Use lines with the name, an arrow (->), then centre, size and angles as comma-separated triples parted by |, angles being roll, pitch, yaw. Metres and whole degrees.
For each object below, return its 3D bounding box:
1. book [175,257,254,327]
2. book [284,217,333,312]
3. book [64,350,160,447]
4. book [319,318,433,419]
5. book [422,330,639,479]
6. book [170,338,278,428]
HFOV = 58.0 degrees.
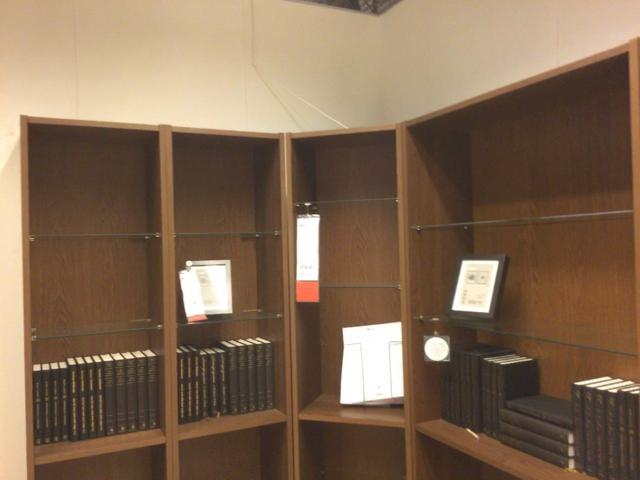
book -> -0.360, 0.170, 1.960 | 0.210, 0.210, 0.190 | -3, 0, -26
book -> -0.040, 0.080, 1.920 | 0.130, 0.300, 0.090 | -3, 0, -13
book -> -0.660, 0.490, 1.830 | 0.260, 0.230, 0.160 | -3, 0, -26
book -> 0.200, 0.430, 2.010 | 0.310, 0.280, 0.260 | -3, 0, 25
book -> 0.580, 0.420, 1.480 | 0.220, 0.270, 0.740 | -3, 0, -26
book -> -0.330, 0.480, 1.990 | 0.320, 0.230, 0.170 | -3, 0, -26
